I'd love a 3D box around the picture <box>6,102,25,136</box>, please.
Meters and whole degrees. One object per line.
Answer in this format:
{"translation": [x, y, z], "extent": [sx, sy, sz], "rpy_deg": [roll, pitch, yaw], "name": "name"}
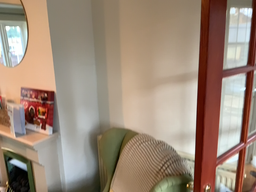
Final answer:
{"translation": [-0.900, 0.180, 1.690], "extent": [0.180, 0.240, 0.060], "rpy_deg": [6, 7, 37], "name": "picture"}
